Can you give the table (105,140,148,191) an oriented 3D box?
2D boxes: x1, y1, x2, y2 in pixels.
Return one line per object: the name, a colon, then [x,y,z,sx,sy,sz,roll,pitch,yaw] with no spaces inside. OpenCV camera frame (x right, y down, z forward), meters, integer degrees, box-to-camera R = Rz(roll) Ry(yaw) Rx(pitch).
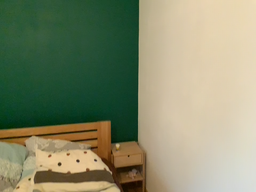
table: [-0.030,0.850,2.460,0.400,0.530,0.380,-2,11,-15]
